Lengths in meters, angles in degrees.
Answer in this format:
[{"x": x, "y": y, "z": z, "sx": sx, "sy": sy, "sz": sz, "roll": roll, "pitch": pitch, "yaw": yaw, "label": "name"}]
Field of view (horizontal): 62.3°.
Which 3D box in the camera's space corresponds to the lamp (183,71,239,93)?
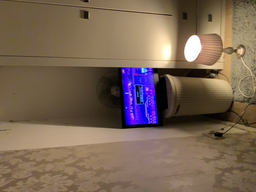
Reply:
[{"x": 0.790, "y": -0.140, "z": 2.050, "sx": 0.300, "sy": 0.400, "sz": 0.190, "roll": -164, "pitch": 73, "yaw": -73, "label": "lamp"}]
